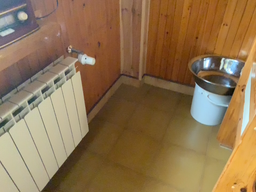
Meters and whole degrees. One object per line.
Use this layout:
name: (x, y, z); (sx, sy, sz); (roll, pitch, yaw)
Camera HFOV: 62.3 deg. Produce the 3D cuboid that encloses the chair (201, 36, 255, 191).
chair: (0.700, 0.260, 1.040); (0.450, 0.820, 0.660); (17, 42, 19)
